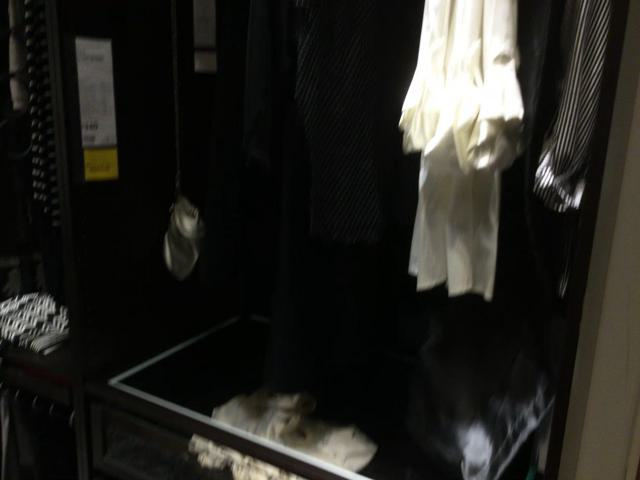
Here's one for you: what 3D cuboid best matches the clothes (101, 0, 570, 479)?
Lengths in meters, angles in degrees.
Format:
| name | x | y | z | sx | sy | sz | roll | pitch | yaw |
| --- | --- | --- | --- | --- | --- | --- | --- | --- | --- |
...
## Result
| name | x | y | z | sx | sy | sz | roll | pitch | yaw |
| --- | --- | --- | --- | --- | --- | --- | --- | --- | --- |
| clothes | 0.050 | -0.190 | 1.070 | 0.700 | 1.060 | 0.400 | 2 | 15 | 17 |
